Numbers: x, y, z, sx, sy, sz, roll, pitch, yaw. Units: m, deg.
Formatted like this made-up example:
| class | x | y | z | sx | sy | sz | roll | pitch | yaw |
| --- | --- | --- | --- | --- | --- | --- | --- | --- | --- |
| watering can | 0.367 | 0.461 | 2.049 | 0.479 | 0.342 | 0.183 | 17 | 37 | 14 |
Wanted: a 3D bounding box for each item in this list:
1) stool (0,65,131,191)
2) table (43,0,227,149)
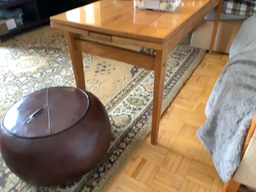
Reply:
| class | x | y | z | sx | sy | sz | roll | pitch | yaw |
| --- | --- | --- | --- | --- | --- | --- | --- | --- | --- |
| stool | -0.330 | 0.130 | 0.960 | 0.520 | 0.250 | 0.470 | 19 | 40 | 25 |
| table | 0.210 | -0.390 | 1.410 | 0.560 | 0.560 | 1.310 | 19 | 40 | 24 |
